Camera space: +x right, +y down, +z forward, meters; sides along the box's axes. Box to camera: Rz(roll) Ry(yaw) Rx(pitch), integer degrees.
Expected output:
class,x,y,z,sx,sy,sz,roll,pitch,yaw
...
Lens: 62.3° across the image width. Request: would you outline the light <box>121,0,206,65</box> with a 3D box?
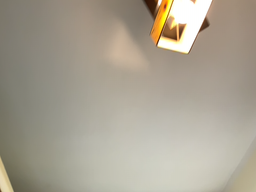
class,x,y,z,sx,sy,sz,roll,pitch,yaw
light,0.110,-0.380,0.840,0.220,0.360,0.400,1,-145,-8
